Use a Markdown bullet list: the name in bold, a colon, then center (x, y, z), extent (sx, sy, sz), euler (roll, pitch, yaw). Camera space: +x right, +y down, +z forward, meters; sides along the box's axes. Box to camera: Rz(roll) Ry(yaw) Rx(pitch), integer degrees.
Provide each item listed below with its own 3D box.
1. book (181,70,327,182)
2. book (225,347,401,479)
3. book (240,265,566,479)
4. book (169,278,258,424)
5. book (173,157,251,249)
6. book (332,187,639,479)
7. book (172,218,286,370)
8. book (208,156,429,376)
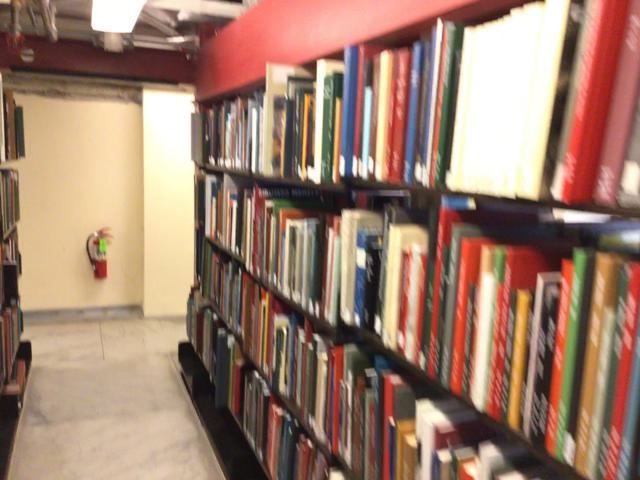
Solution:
- **book**: center (-0.410, -0.490, 2.800), extent (0.210, 0.380, 1.690), euler (-3, 8, -23)
- **book**: center (0.000, 0.780, 1.780), extent (0.150, 0.410, 1.720), euler (-3, 8, -23)
- **book**: center (0.080, 0.420, 1.760), extent (0.260, 0.460, 1.420), euler (-3, 8, -23)
- **book**: center (-0.610, 0.520, 3.090), extent (0.180, 0.410, 1.260), euler (-3, 8, -23)
- **book**: center (-0.650, -0.240, 3.340), extent (0.220, 0.450, 0.990), euler (-3, 8, -23)
- **book**: center (0.360, 0.100, 1.190), extent (0.310, 0.390, 0.920), euler (-3, 8, -23)
- **book**: center (-0.550, 0.190, 3.070), extent (0.180, 0.480, 1.630), euler (-3, 8, -23)
- **book**: center (-0.120, -0.010, 2.240), extent (0.300, 0.590, 1.430), euler (-3, 8, -23)
